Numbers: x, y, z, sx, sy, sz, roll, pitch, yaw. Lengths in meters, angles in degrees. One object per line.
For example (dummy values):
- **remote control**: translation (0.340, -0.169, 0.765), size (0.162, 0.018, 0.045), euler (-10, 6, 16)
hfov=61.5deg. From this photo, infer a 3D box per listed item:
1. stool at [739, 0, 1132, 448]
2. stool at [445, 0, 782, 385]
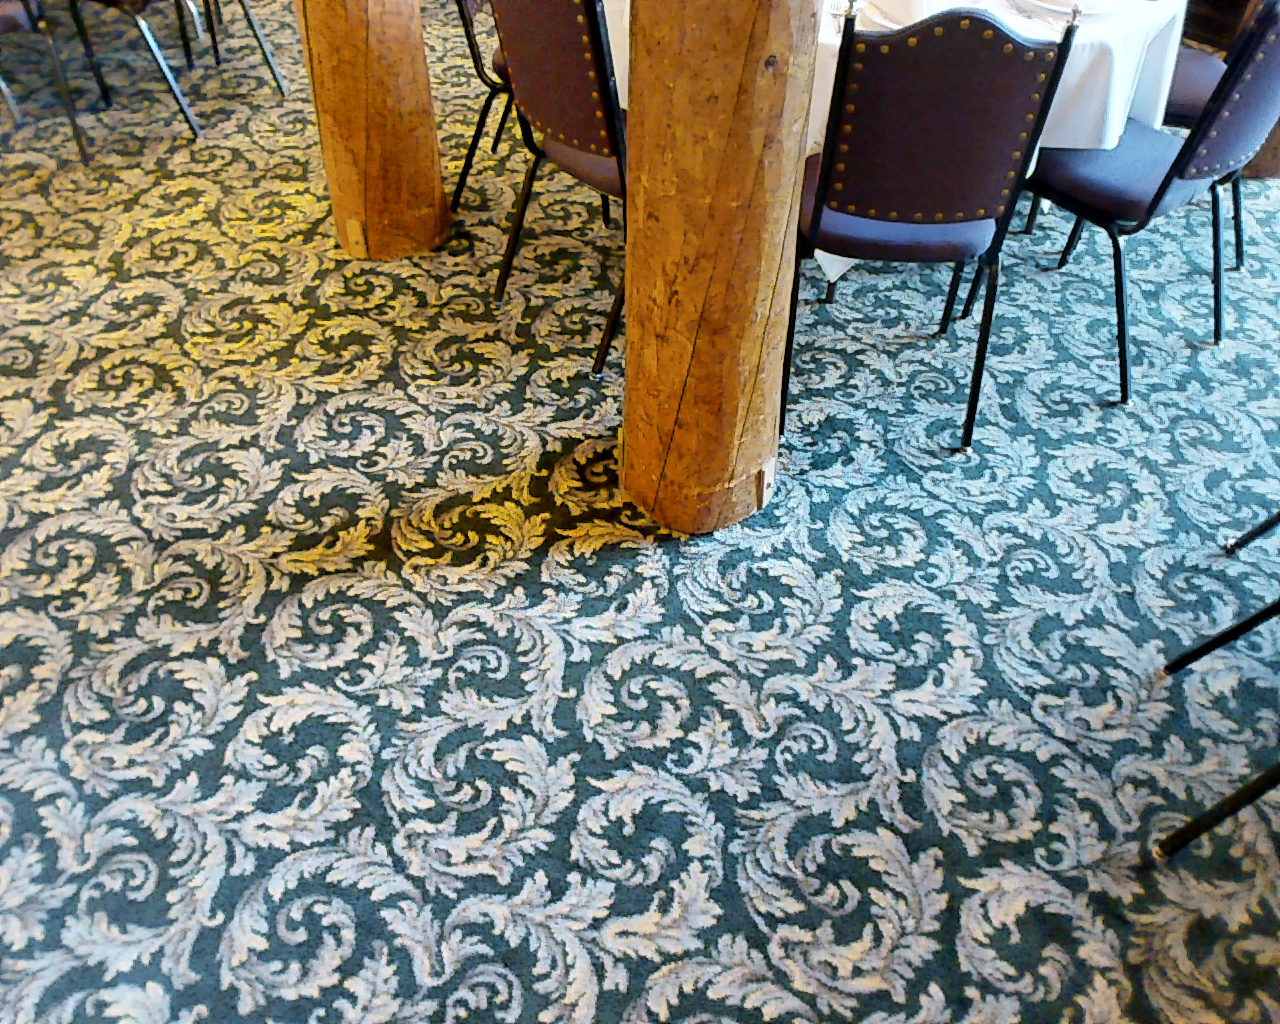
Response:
- **stool**: translation (0.560, -0.690, 2.390), size (0.600, 0.890, 0.600), euler (3, 43, 2)
- **stool**: translation (-0.070, -0.880, 2.600), size (0.510, 0.860, 0.550), euler (-30, 51, -29)
